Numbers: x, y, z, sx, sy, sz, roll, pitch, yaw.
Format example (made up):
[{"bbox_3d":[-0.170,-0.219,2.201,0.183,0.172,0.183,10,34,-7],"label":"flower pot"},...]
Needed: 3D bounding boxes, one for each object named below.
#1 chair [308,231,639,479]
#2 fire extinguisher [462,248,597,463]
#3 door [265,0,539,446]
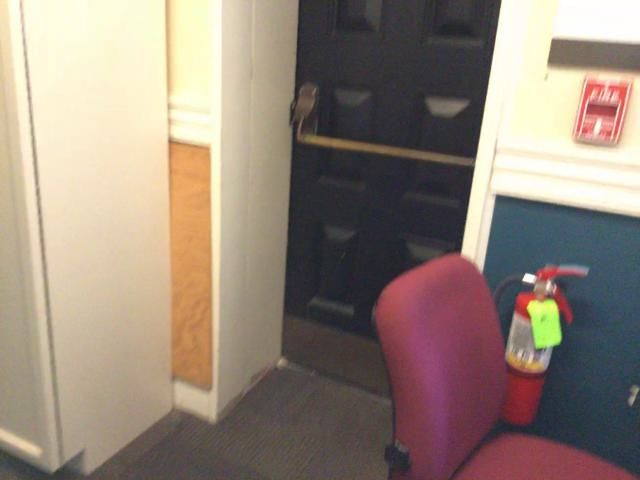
[{"bbox_3d":[0.400,0.540,1.260,0.560,0.910,0.650,-11,23,-39],"label":"chair"},{"bbox_3d":[0.530,0.290,1.480,0.230,0.480,0.140,13,20,24],"label":"fire extinguisher"},{"bbox_3d":[0.220,-0.100,2.070,0.800,1.550,0.170,13,20,24],"label":"door"}]
